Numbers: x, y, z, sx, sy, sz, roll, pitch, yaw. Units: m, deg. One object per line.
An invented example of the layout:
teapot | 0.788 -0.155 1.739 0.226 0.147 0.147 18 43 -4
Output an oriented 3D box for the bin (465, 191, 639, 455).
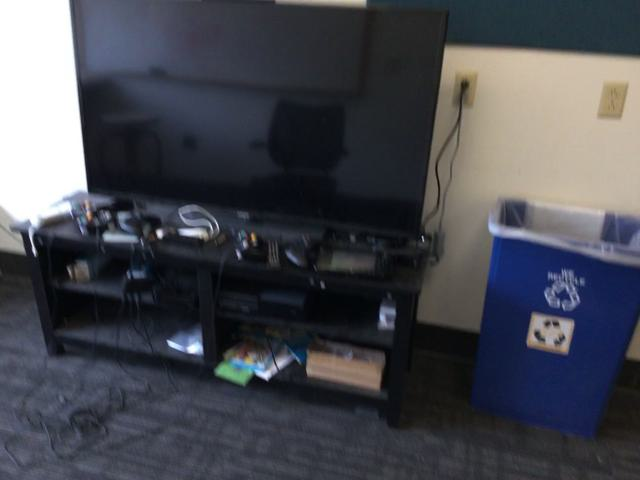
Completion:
bin | 0.790 0.260 1.920 0.530 0.740 0.350 5 26 15

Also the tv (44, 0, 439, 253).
tv | -0.250 -0.400 1.890 1.210 0.780 0.170 5 26 15

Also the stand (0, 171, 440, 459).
stand | -0.340 0.210 2.110 1.450 0.720 0.510 5 26 15
